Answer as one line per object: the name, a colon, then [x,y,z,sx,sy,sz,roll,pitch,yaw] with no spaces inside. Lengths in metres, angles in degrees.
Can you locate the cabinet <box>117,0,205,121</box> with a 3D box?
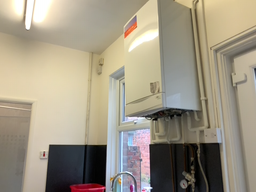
cabinet: [0.210,-0.300,1.590,0.370,0.910,0.510,8,-15,-30]

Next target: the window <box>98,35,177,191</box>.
window: [0.040,0.360,2.350,0.310,1.690,1.040,8,-15,-29]
